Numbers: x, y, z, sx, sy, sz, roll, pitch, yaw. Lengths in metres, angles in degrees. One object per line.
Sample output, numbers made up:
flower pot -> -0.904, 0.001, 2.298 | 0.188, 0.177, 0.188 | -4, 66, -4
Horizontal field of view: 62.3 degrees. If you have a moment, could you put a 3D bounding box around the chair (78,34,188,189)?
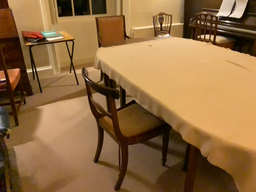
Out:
chair -> 0.010, 0.080, 1.610 | 0.510, 0.930, 0.530 | -17, 32, -29

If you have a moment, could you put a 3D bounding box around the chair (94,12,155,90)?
chair -> -0.060, -0.670, 3.030 | 0.600, 0.920, 0.590 | -15, 31, -27

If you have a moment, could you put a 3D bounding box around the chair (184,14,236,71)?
chair -> 1.380, -0.930, 3.650 | 0.490, 0.810, 0.500 | -16, 32, -28

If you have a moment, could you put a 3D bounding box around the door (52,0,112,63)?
door -> -0.750, -1.850, 3.360 | 0.950, 2.580, 0.110 | -14, 31, -26
